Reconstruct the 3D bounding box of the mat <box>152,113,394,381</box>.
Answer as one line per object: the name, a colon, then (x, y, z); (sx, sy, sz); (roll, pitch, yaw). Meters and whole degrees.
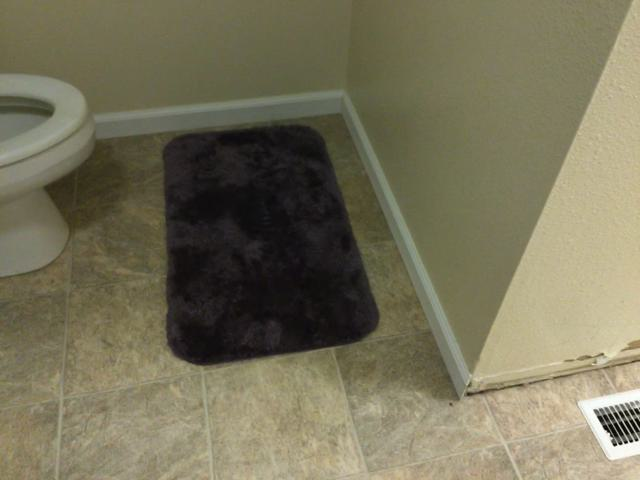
mat: (-0.170, -0.050, 1.630); (0.560, 0.050, 0.880); (-6, 50, -7)
